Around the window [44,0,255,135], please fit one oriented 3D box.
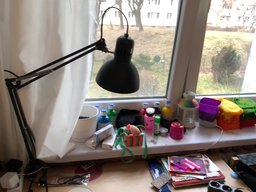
[{"bbox_3d":[0.320,-0.560,1.090,1.420,1.560,0.130,-2,21,-11],"label":"window"}]
